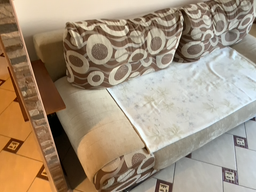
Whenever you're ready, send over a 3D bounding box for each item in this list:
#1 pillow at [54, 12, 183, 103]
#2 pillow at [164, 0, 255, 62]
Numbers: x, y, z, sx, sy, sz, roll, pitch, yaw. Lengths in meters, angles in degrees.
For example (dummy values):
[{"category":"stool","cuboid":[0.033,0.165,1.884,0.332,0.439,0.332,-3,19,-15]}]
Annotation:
[{"category":"pillow","cuboid":[-0.050,-0.300,1.480,0.780,0.340,0.310,-21,50,-25]},{"category":"pillow","cuboid":[0.750,-0.640,1.830,0.830,0.430,0.240,-21,50,-25]}]
